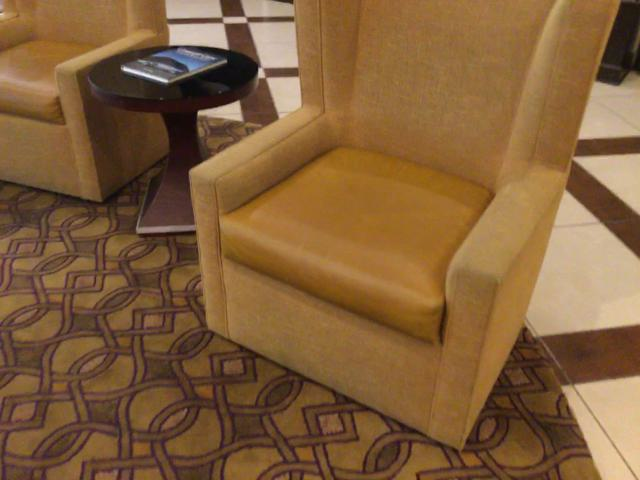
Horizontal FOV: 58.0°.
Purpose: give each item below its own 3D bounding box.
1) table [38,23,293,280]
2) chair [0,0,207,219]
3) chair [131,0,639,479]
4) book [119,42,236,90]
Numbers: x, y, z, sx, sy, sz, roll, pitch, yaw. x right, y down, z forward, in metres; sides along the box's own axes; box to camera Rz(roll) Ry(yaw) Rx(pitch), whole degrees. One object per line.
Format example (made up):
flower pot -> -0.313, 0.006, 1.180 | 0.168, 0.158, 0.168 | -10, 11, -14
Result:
table -> -0.540, -0.380, 2.250 | 0.620, 0.670, 0.630 | 20, 39, 23
chair -> -1.160, -0.860, 2.490 | 0.950, 1.070, 0.890 | 12, 36, 13
chair -> 0.210, -0.220, 1.630 | 0.920, 1.110, 0.920 | 20, 39, 23
book -> -0.510, -0.640, 2.100 | 0.240, 0.040, 0.340 | 23, 39, 26
